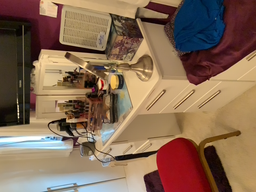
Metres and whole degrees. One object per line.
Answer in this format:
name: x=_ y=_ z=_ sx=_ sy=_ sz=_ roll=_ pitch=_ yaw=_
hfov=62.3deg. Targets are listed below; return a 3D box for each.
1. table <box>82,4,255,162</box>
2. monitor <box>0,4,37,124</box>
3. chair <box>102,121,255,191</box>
table: x=0.190 y=0.040 z=1.700 sx=1.270 sy=0.790 sz=0.510 roll=-54 pitch=44 yaw=50
monitor: x=-0.800 y=-0.120 z=1.160 sx=0.040 sy=0.520 sz=0.810 roll=-110 pitch=33 yaw=-42
chair: x=0.350 y=0.540 z=1.330 sx=0.480 sy=0.840 sz=0.580 roll=128 pitch=135 yaw=-52
